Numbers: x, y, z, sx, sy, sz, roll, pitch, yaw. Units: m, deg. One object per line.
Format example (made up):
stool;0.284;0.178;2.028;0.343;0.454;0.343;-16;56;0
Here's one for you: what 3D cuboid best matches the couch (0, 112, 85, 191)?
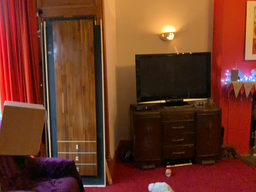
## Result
couch;-1.000;0.750;2.010;0.930;1.010;0.850;0;9;3
